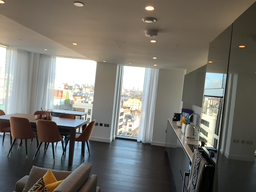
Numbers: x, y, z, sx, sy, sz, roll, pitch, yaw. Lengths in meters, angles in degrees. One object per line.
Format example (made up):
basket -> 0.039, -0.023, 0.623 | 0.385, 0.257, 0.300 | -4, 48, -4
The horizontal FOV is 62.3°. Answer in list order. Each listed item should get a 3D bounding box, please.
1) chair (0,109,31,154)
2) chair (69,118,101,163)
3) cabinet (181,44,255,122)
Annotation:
chair -> -2.620, 0.780, 4.770 | 0.550, 0.850, 0.520 | 6, 2, 2
chair -> -0.940, 0.960, 4.680 | 0.550, 0.850, 0.440 | 6, 2, -1
cabinet -> 1.430, -0.180, 3.870 | 0.330, 0.730, 3.710 | 6, 2, 6
